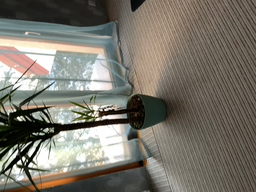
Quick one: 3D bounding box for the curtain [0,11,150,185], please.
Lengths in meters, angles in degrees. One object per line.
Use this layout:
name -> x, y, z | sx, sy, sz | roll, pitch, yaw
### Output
curtain -> -1.010, -0.060, 2.130 | 0.280, 2.330, 1.680 | -42, 56, 52
